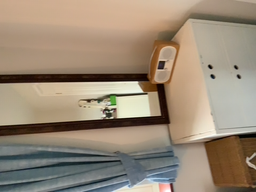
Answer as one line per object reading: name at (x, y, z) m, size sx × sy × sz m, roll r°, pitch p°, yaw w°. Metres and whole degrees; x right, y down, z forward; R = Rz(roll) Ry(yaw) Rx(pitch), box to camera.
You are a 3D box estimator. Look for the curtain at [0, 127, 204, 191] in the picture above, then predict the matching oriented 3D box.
curtain at (-0.200, 0.450, 1.380) m, size 0.110 × 1.440 × 0.390 m, roll 129°, pitch 137°, yaw -65°
